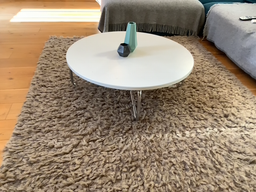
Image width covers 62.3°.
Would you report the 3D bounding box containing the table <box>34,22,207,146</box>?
[{"bbox_3d":[-0.010,-0.210,1.640,0.920,0.310,0.900,22,40,23],"label":"table"}]
